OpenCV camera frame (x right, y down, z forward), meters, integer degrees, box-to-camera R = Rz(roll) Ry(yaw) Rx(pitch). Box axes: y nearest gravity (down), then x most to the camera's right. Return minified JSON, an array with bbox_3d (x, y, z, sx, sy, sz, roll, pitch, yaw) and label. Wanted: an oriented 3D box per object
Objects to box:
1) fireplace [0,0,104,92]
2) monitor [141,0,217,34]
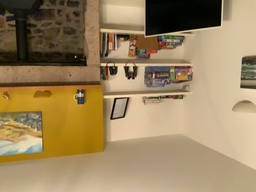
[{"bbox_3d":[-1.370,-0.930,2.460,2.030,1.710,0.800,-2,-173,-18],"label":"fireplace"},{"bbox_3d":[0.520,-1.000,2.350,0.880,0.510,0.050,5,-171,39],"label":"monitor"}]
